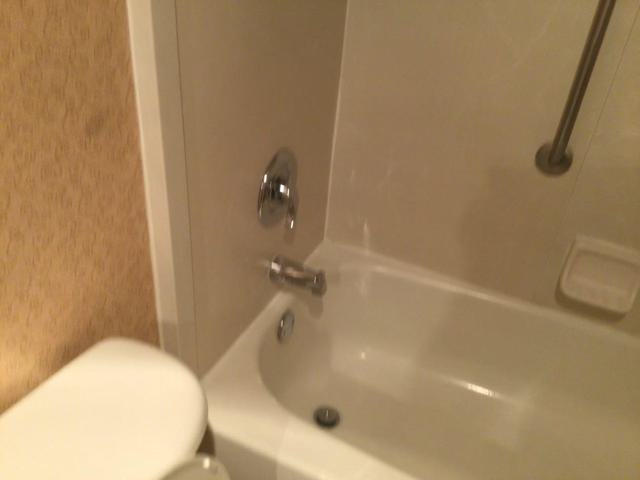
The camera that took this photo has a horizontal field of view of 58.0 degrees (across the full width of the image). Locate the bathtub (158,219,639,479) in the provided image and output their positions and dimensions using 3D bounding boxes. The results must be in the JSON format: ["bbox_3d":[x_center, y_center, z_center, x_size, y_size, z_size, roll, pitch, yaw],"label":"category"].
[{"bbox_3d":[0.480,0.510,1.250,1.410,0.430,0.730,18,38,18],"label":"bathtub"}]

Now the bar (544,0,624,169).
[{"bbox_3d":[0.530,-0.410,1.080,0.040,0.580,0.080,18,38,18],"label":"bar"}]

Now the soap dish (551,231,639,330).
[{"bbox_3d":[0.640,0.090,1.300,0.180,0.150,0.090,18,38,18],"label":"soap dish"}]
